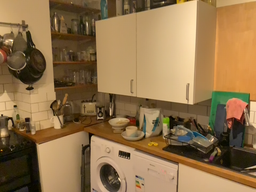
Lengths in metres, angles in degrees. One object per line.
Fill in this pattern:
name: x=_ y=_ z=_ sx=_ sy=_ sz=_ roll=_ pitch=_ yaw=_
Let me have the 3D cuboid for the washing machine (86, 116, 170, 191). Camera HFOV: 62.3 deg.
washing machine: x=0.010 y=0.790 z=2.380 sx=0.620 sy=0.920 sz=0.680 roll=7 pitch=12 yaw=42

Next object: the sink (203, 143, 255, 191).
sink: x=0.830 y=0.520 z=1.570 sx=0.380 sy=0.150 sz=0.410 roll=7 pitch=12 yaw=42
